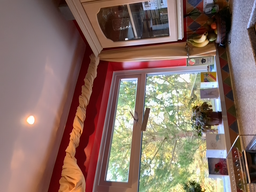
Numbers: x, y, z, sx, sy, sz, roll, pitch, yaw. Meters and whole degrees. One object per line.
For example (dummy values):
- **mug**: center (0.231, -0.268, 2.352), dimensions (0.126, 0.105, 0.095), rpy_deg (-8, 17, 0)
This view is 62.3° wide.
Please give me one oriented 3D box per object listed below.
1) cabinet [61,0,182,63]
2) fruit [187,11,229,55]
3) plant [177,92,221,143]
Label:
- **cabinet**: center (-0.030, -0.800, 1.730), dimensions (1.170, 0.880, 0.330), rpy_deg (66, -153, -56)
- **fruit**: center (0.710, -0.560, 1.920), dimensions (0.170, 0.320, 0.310), rpy_deg (40, -130, -71)
- **plant**: center (0.600, 0.190, 1.840), dimensions (0.230, 0.320, 0.370), rpy_deg (63, -151, -59)
